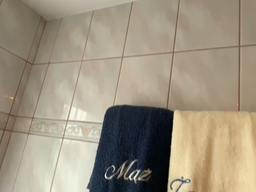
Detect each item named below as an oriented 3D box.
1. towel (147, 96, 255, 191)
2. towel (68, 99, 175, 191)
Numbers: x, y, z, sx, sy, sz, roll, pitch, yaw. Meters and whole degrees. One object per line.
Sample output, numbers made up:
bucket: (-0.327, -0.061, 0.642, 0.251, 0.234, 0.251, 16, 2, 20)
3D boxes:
towel: (0.240, 0.220, 0.550, 0.340, 0.400, 0.150, 2, -18, 24)
towel: (-0.020, 0.220, 0.680, 0.280, 0.400, 0.120, 1, -18, 26)
